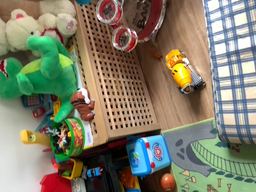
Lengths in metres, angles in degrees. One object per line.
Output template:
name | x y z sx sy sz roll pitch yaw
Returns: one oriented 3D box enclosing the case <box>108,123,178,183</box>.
case | 0.090 0.370 1.400 0.310 0.250 0.240 -41 63 35
